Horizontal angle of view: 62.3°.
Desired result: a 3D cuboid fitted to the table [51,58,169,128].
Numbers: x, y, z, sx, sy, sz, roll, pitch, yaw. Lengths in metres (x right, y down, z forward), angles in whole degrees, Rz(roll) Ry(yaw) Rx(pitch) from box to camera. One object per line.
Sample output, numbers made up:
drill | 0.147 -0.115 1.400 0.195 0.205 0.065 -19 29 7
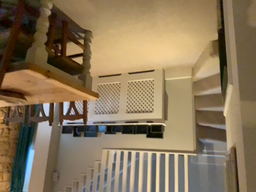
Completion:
table | -0.360 0.010 3.560 2.060 1.020 0.180 -4 165 23

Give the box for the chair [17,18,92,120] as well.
chair | -0.790 -0.260 2.410 0.470 0.980 0.520 -4 164 25

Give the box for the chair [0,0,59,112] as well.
chair | -1.020 -0.390 1.910 0.460 0.980 0.460 -5 165 28
